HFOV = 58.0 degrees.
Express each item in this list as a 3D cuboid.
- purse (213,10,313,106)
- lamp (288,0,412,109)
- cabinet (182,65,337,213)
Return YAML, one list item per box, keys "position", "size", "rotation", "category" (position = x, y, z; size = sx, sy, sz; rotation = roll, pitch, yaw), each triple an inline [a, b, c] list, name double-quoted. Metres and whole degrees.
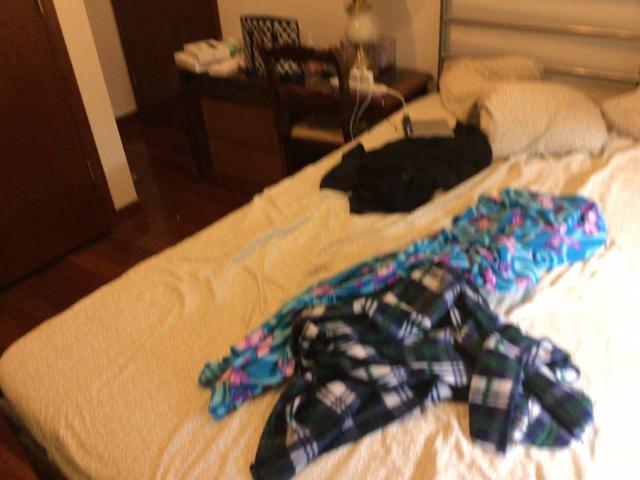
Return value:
- position: [-0.240, -0.790, 2.490]
  size: [0.380, 0.320, 0.170]
  rotation: [19, 39, 31]
  category: "purse"
- position: [0.120, -0.950, 2.260]
  size: [0.360, 0.740, 0.330]
  rotation: [19, 39, 31]
  category: "lamp"
- position: [-0.290, -0.530, 2.930]
  size: [0.630, 0.530, 0.390]
  rotation: [19, 39, 31]
  category: "cabinet"
